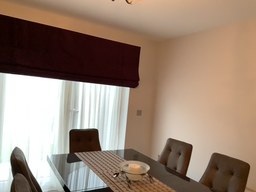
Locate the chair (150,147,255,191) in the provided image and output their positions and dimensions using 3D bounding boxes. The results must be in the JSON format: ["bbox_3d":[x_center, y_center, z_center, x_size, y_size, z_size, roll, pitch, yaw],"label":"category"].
[{"bbox_3d":[0.550,0.950,1.640,0.620,0.960,0.490,5,1,-29],"label":"chair"}]

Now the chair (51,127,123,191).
[{"bbox_3d":[-0.460,0.850,2.210,0.500,0.950,0.590,5,1,-31],"label":"chair"}]

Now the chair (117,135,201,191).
[{"bbox_3d":[0.270,0.920,2.080,0.570,0.950,0.500,5,1,-33],"label":"chair"}]
